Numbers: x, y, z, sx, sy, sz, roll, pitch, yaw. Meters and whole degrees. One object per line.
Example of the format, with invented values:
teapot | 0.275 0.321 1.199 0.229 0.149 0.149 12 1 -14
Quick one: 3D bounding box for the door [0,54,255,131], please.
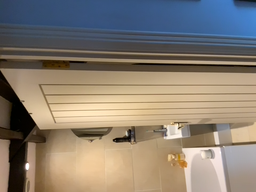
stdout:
door | 0.400 0.040 1.320 0.850 1.970 0.060 113 154 -64
